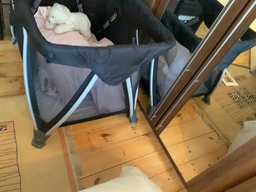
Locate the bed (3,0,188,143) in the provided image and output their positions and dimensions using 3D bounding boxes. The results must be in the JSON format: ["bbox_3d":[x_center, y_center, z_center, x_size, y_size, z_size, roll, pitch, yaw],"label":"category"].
[{"bbox_3d":[-0.320,-0.370,1.410,0.780,0.660,0.980,-10,56,-30],"label":"bed"}]
